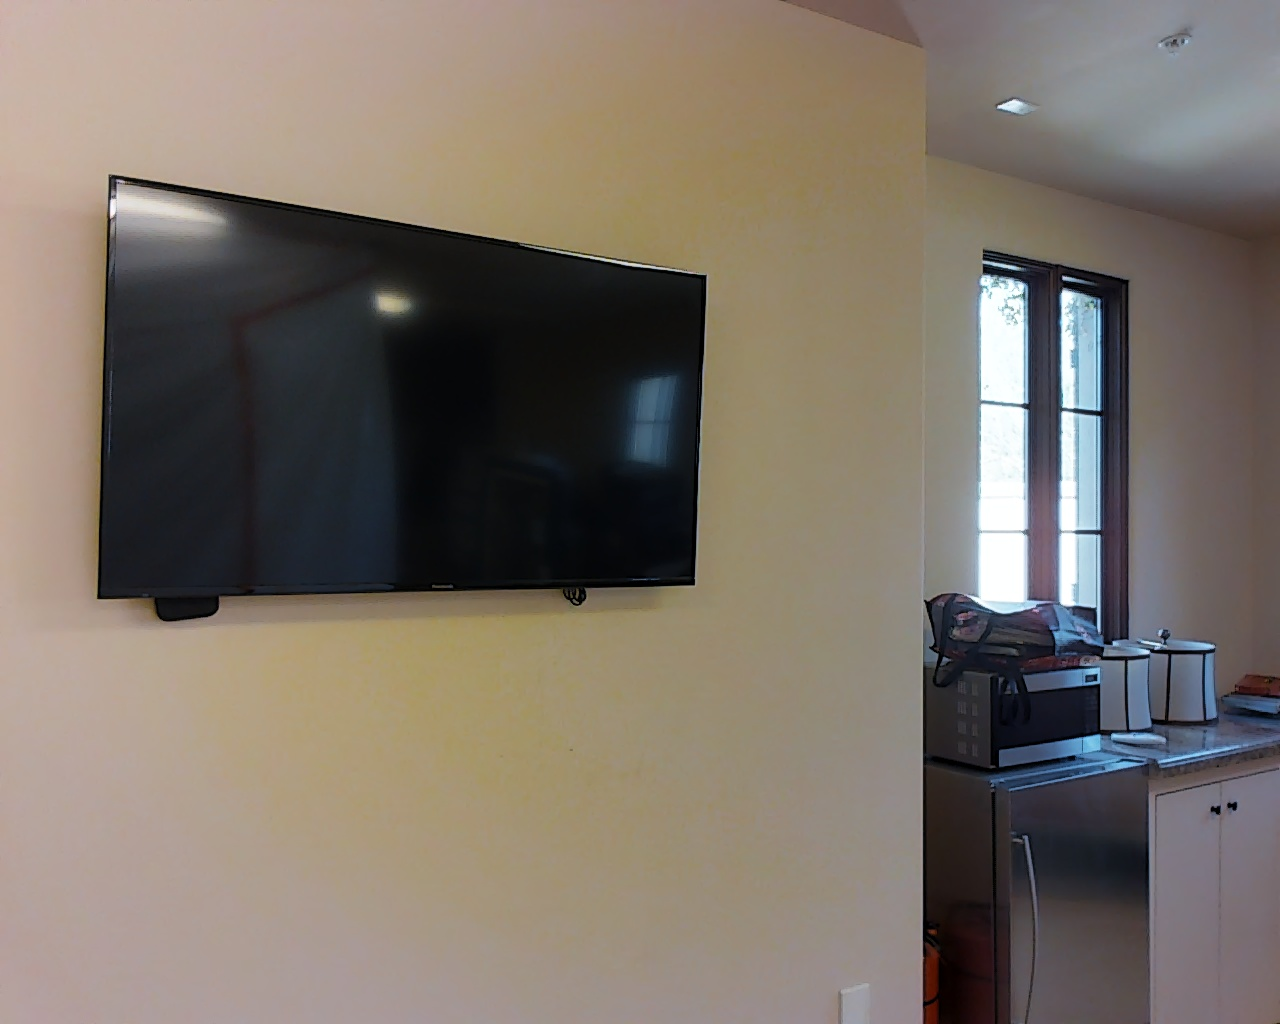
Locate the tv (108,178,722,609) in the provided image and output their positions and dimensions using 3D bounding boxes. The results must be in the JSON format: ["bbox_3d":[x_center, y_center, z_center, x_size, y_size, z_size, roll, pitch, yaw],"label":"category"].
[{"bbox_3d":[-0.340,-0.170,1.960,1.120,0.650,0.120,1,-1,-32],"label":"tv"}]
